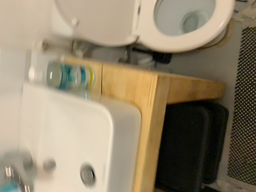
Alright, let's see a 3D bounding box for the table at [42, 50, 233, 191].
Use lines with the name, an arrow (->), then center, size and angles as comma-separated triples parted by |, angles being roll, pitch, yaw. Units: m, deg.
table -> 0.120, 0.180, 0.990 | 0.410, 0.850, 0.630 | 15, 101, 35
